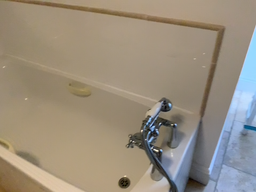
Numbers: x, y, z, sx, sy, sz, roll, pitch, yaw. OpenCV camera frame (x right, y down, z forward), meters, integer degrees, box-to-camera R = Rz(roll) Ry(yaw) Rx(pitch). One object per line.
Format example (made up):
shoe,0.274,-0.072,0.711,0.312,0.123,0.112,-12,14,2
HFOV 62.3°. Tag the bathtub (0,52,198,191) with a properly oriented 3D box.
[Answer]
bathtub,-0.510,0.260,1.390,1.660,0.540,0.680,18,43,24
